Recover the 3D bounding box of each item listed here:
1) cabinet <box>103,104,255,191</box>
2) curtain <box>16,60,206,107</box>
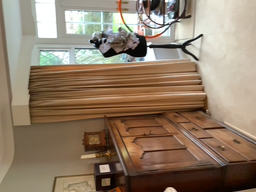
[{"bbox_3d":[0.510,0.570,2.270,1.420,1.390,0.560,-137,46,-72],"label":"cabinet"},{"bbox_3d":[-0.160,-0.210,2.980,0.230,2.470,0.570,107,157,-56],"label":"curtain"}]
